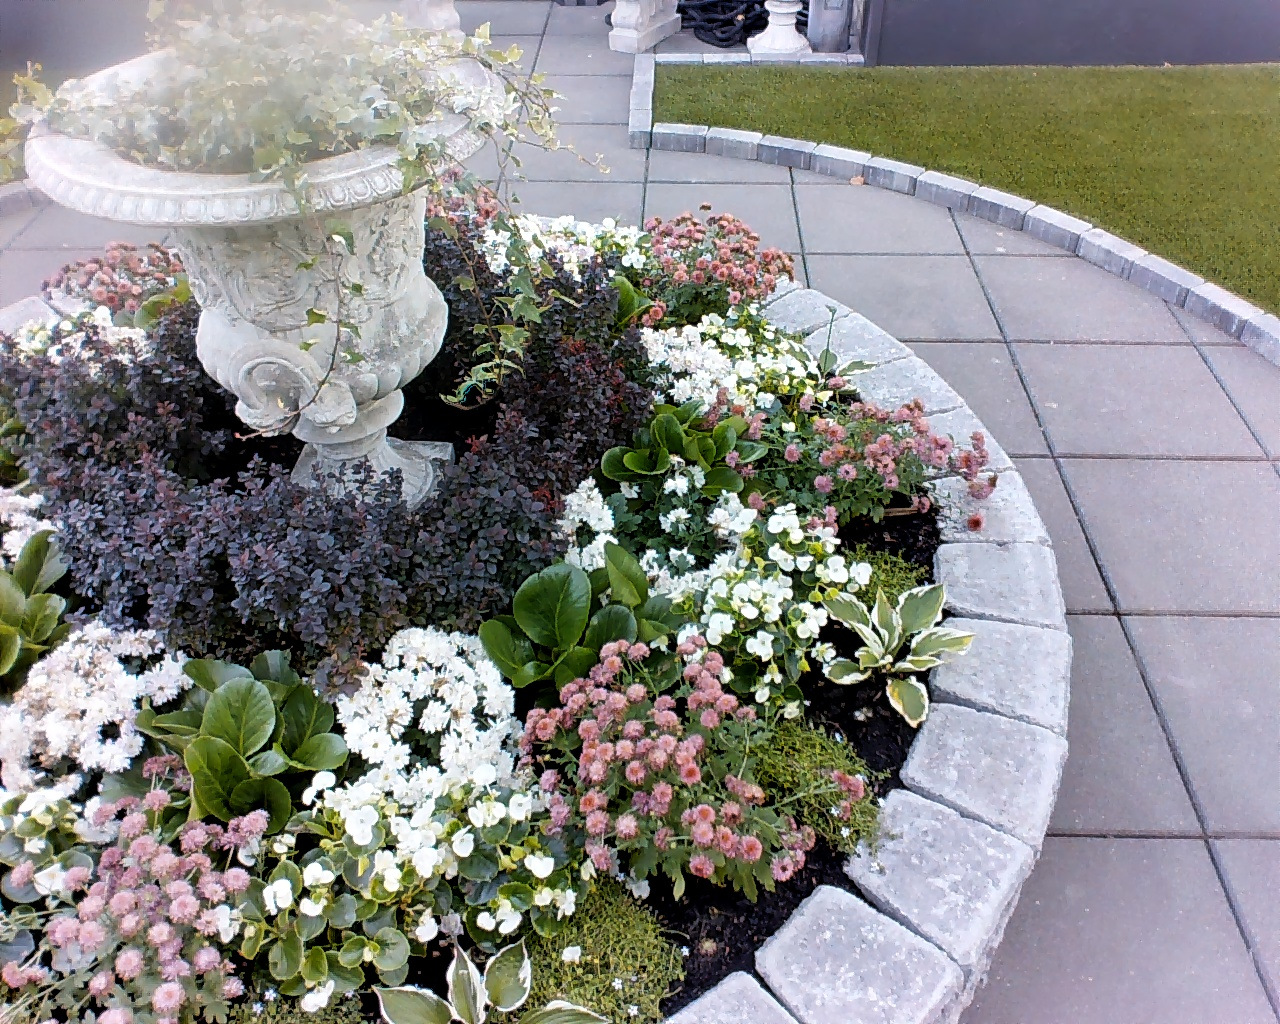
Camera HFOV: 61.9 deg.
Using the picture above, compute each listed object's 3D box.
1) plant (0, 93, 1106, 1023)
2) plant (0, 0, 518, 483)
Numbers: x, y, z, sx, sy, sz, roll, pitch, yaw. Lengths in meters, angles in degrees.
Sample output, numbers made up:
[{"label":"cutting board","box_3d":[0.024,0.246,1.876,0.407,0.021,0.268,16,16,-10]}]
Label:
[{"label":"plant","box_3d":[-0.490,-0.040,1.750,2.050,0.300,1.990,17,45,19]},{"label":"plant","box_3d":[-0.460,-0.420,1.510,0.460,0.470,0.610,1,42,2]}]
